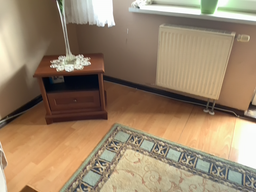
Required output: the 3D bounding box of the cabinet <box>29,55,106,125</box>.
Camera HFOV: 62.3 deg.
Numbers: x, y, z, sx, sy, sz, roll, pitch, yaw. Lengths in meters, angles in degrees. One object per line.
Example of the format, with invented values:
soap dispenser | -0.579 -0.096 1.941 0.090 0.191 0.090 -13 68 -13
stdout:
cabinet | -0.510 -0.060 1.940 0.560 0.510 0.320 -5 34 -6
